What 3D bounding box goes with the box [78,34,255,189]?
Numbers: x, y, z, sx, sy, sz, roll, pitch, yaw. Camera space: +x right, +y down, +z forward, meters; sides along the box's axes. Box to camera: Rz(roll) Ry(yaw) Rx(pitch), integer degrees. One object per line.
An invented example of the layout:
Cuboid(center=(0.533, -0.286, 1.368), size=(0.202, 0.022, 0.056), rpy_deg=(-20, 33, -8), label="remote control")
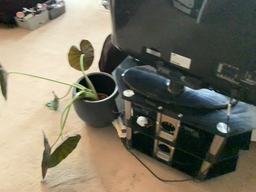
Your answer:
Cuboid(center=(0.280, 0.050, 1.290), size=(1.060, 0.510, 0.370), rpy_deg=(19, 48, 21), label="box")
